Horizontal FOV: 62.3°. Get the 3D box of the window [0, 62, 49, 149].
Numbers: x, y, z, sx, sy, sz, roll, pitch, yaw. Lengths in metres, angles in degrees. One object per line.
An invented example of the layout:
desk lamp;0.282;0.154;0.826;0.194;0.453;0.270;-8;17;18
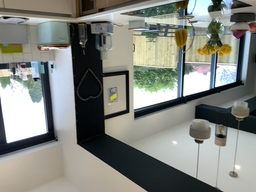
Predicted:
window;-1.600;0.150;2.520;1.230;1.020;0.060;-13;-162;-41
